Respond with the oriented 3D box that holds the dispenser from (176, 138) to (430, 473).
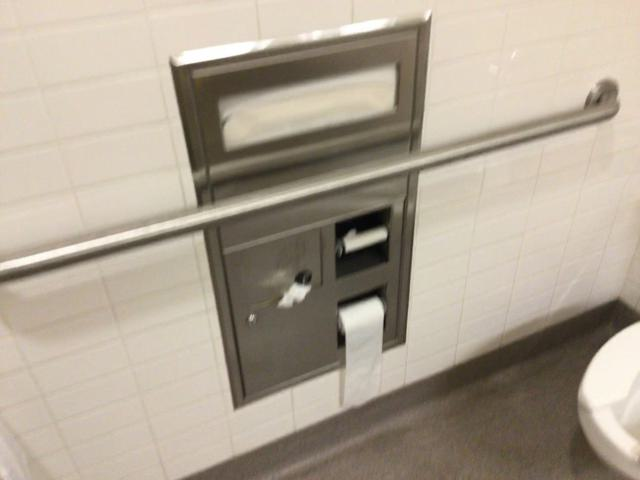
[{"bbox_3d":[-0.010,0.160,1.220,0.430,0.660,0.140,-17,38,-17],"label":"dispenser"}]
